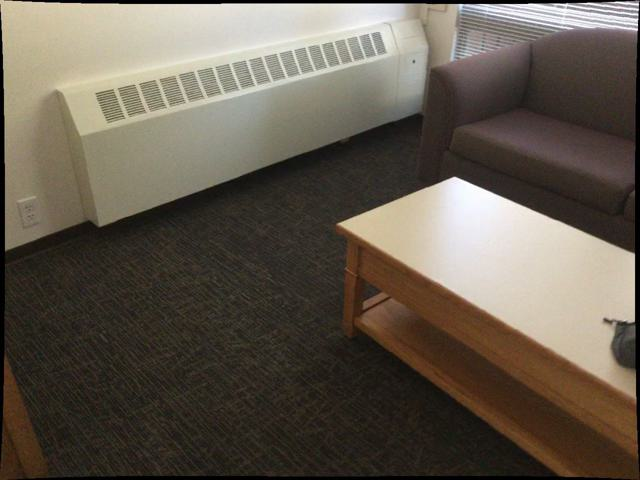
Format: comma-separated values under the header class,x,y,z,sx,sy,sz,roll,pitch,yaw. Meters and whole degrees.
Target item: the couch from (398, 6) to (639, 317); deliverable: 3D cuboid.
class,x,y,z,sx,sy,sz,roll,pitch,yaw
couch,1.388,-0.321,2.330,1.029,0.761,1.819,-27,43,-36
